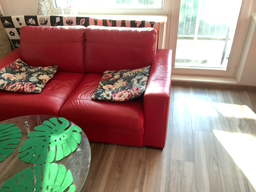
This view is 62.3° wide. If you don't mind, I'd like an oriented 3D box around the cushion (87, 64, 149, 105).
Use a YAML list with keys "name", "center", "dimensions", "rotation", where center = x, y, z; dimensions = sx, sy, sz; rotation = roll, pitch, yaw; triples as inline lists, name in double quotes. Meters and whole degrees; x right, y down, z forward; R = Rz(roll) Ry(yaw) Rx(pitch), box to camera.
- name: "cushion"
  center: [-0.060, -0.120, 1.860]
  dimensions: [0.450, 0.100, 0.480]
  rotation: [4, 34, 8]
